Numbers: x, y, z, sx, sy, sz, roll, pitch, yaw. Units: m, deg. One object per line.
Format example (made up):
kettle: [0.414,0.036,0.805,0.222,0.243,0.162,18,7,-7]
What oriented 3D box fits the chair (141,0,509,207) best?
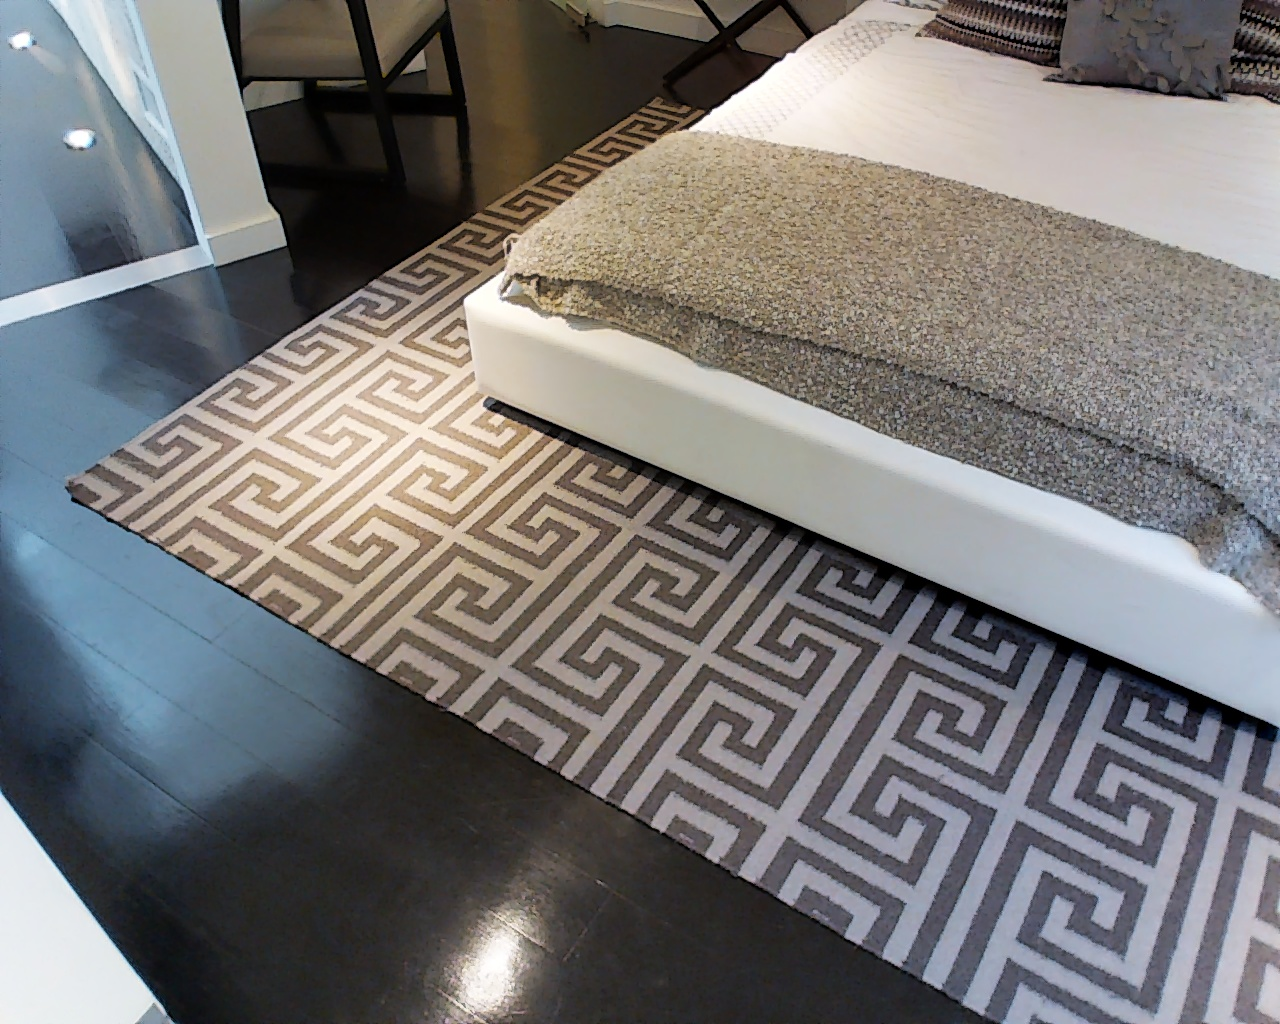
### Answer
chair: [-0.940,-1.490,3.410,0.790,0.670,0.770,8,44,10]
